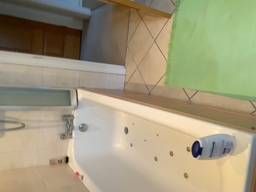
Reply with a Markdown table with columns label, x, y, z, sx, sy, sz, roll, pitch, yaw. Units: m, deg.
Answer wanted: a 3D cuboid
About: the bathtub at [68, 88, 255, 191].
| label | x | y | z | sx | sy | sz | roll | pitch | yaw |
| --- | --- | --- | --- | --- | --- | --- | --- | --- | --- |
| bathtub | 0.130 | 0.390 | 1.500 | 1.670 | 0.560 | 0.750 | 11 | 96 | 57 |
